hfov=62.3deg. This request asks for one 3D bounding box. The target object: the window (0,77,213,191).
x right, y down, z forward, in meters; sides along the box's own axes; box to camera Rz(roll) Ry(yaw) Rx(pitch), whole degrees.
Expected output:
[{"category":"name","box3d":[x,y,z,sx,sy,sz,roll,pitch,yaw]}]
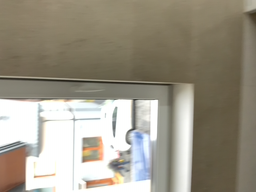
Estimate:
[{"category":"window","box3d":[-0.290,0.360,1.010,0.330,1.410,0.870,-172,83,-68]}]
